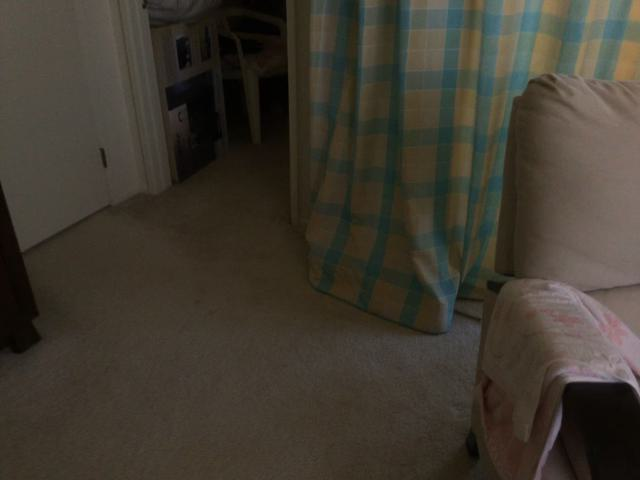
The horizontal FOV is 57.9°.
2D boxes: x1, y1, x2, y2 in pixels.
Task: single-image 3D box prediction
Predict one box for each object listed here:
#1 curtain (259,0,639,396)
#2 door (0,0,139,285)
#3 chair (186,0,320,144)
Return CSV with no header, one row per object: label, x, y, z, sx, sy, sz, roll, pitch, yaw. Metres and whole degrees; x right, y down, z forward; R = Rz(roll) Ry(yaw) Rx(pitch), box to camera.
curtain,0.960,-0.340,1.570,2.250,1.500,0.530,12,30,22
door,-1.110,-0.710,1.930,0.130,1.700,0.980,12,30,22
chair,-0.370,-1.050,3.520,0.520,0.700,0.640,12,30,22
